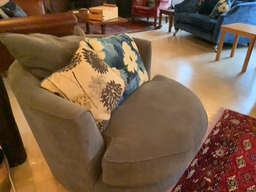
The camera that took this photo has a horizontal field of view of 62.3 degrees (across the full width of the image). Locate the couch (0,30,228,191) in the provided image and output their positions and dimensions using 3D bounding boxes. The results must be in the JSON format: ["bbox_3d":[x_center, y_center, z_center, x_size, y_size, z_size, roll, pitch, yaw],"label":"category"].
[{"bbox_3d":[-0.100,0.130,1.330,1.080,0.790,0.890,9,32,14],"label":"couch"}]

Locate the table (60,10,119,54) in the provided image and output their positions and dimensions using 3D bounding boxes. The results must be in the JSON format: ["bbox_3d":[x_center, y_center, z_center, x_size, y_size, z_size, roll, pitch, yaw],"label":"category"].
[{"bbox_3d":[-0.680,-1.150,3.680,0.630,0.450,1.010,-17,35,-27],"label":"table"}]

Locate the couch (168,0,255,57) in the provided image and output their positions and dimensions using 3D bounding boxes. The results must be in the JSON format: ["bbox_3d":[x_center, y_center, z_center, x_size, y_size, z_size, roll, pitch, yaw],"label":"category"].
[{"bbox_3d":[1.500,-1.340,3.540,1.100,0.870,1.200,-11,33,-19],"label":"couch"}]
